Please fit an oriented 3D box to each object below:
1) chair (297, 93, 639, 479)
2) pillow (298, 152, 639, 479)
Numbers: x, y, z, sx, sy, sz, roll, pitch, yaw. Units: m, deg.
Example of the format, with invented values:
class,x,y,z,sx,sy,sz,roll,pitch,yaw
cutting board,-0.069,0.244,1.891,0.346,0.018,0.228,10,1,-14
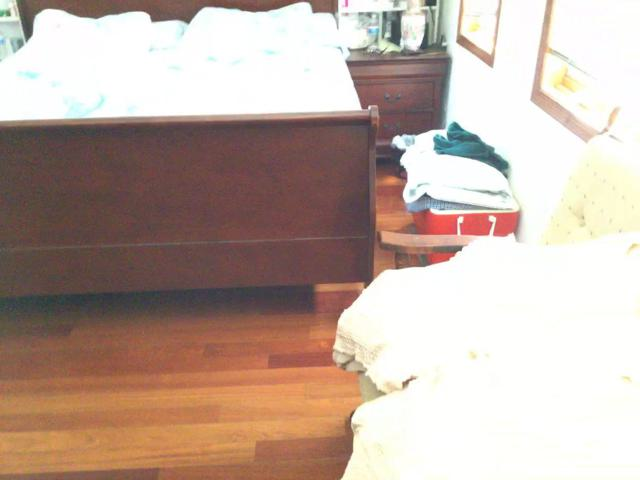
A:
class,x,y,z,sx,sy,sz,roll,pitch,yaw
chair,0.400,0.220,1.450,0.820,0.950,0.620,-4,30,1
pillow,0.280,0.170,1.370,0.610,0.520,0.600,-4,30,1
